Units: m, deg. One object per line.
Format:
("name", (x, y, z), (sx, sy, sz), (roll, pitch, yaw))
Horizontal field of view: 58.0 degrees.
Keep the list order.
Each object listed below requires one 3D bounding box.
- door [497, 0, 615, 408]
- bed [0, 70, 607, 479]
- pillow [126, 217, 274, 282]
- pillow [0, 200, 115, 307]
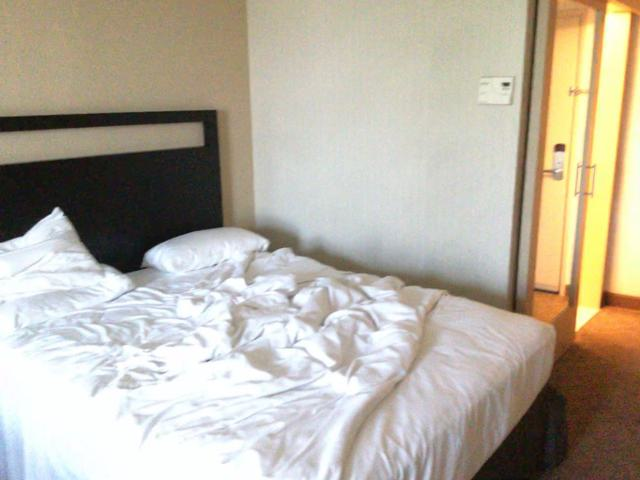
("door", (1.220, -0.250, 2.960), (0.160, 1.940, 0.990), (9, 16, 39))
("bed", (-0.350, 0.230, 2.220), (2.150, 1.500, 1.750), (9, 16, 39))
("pillow", (-0.620, 0.030, 3.040), (0.480, 0.170, 0.580), (9, 16, 39))
("pillow", (-1.250, 0.050, 2.430), (0.290, 0.330, 0.650), (9, 16, 39))
